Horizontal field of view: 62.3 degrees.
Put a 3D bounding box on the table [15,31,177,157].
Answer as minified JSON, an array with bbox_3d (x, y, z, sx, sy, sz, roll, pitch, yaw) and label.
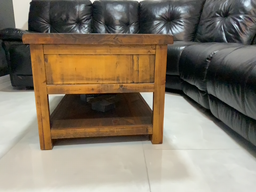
[{"bbox_3d":[-0.170,-0.120,1.350,0.610,0.510,1.000,-1,14,-7],"label":"table"}]

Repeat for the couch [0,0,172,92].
[{"bbox_3d":[-0.430,-0.620,2.390,1.590,0.950,1.000,0,14,-2],"label":"couch"}]
